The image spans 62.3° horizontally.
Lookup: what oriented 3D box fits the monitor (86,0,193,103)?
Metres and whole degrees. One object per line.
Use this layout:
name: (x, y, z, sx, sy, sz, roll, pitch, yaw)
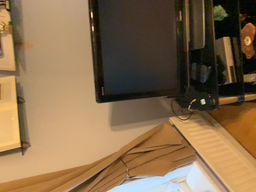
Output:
monitor: (0.080, -0.450, 1.150, 0.060, 0.610, 0.920, 1, 96, 63)
